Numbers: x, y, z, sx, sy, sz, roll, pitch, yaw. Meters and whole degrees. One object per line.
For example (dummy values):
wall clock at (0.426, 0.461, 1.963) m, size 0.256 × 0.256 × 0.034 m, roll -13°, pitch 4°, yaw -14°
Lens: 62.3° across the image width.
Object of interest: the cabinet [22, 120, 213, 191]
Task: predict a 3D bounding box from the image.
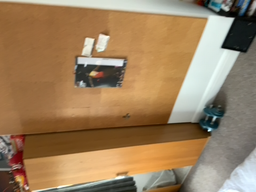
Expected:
cabinet at (-0.140, 0.990, 2.740) m, size 0.280 × 2.020 × 1.520 m, roll -110°, pitch 25°, yaw -47°
